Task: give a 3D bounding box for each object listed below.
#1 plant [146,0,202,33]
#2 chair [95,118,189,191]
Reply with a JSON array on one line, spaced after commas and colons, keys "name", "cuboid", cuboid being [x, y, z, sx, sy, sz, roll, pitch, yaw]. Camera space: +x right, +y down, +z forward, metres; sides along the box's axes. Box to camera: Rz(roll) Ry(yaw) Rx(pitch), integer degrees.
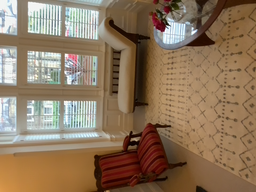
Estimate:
[{"name": "plant", "cuboid": [0.440, -0.820, 2.040, 0.210, 0.470, 0.330, -168, 79, -70]}, {"name": "chair", "cuboid": [0.120, 0.830, 2.960, 0.870, 0.970, 0.640, 111, 152, -45]}]
